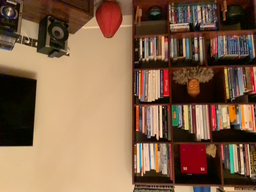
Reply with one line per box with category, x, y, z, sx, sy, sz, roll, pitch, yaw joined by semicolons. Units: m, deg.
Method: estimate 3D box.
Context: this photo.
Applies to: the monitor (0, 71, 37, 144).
monitor;-1.300;0.070;1.660;1.080;0.620;0.060;7;168;-40
